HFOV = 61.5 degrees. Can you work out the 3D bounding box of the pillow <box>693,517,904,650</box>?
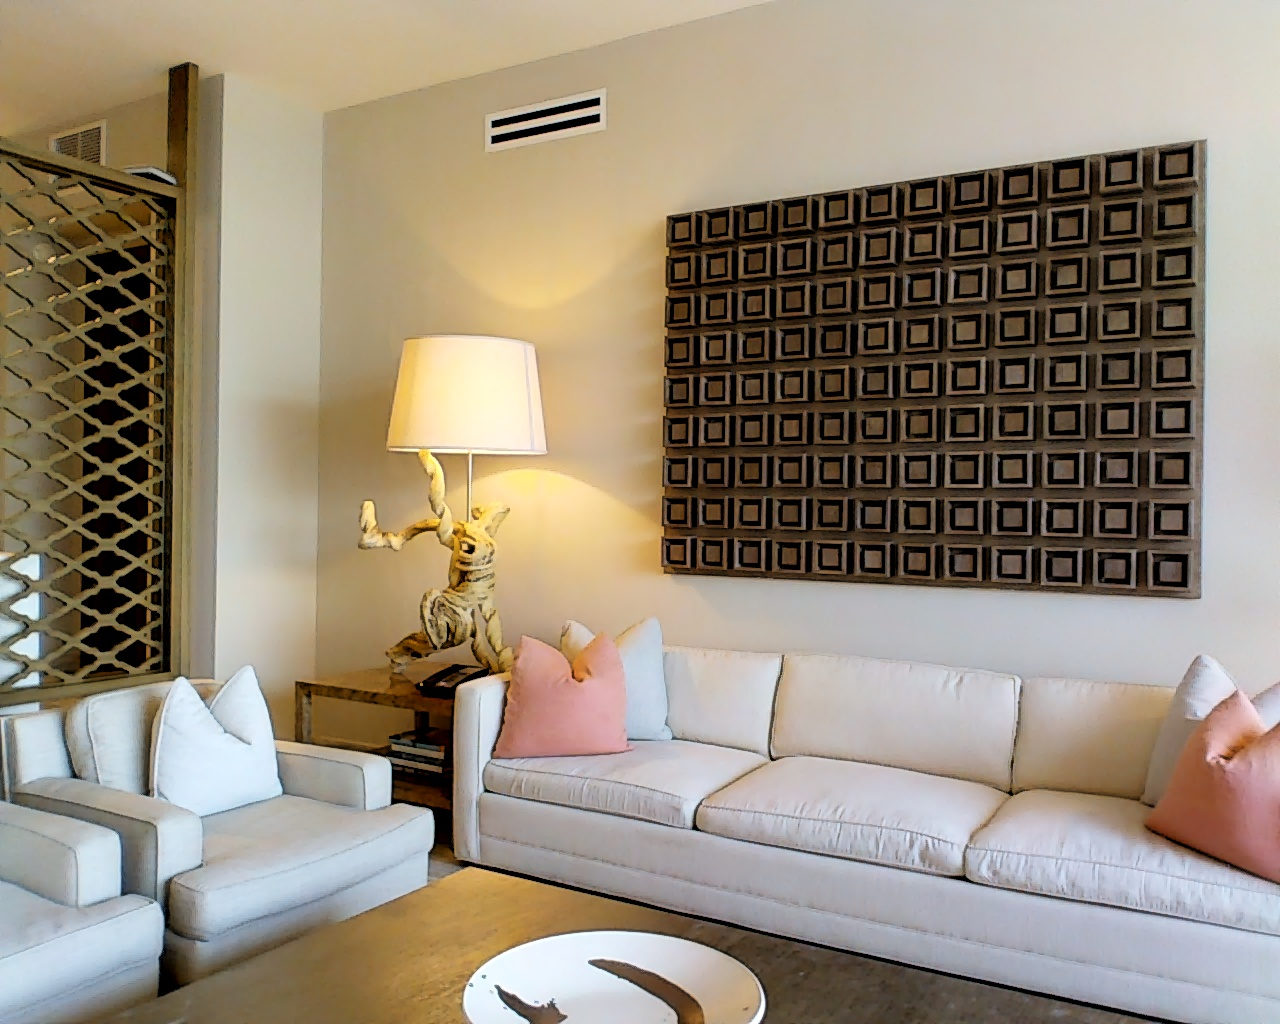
[{"bbox_3d":[0.660,0.270,4.460,0.710,0.490,0.530,1,0,32],"label":"pillow"}]
